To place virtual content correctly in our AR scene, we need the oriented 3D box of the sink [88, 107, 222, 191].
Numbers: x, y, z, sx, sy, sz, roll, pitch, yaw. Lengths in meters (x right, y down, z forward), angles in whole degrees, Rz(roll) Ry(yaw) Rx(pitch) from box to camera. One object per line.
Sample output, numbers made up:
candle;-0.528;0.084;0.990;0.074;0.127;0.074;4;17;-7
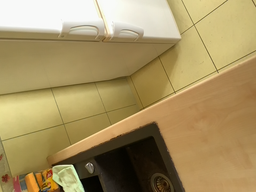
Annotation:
sink;0.120;0.370;0.770;0.360;0.200;0.540;-30;79;43
